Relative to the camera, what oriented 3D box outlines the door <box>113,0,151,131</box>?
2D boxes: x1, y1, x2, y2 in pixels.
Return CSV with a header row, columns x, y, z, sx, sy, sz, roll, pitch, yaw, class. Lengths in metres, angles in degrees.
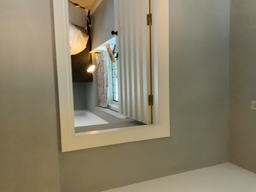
x,y,z,sx,sy,sz,roll,pitch,yaw,class
0.010,-0.700,2.280,0.050,2.020,0.750,-4,-175,-25,door
